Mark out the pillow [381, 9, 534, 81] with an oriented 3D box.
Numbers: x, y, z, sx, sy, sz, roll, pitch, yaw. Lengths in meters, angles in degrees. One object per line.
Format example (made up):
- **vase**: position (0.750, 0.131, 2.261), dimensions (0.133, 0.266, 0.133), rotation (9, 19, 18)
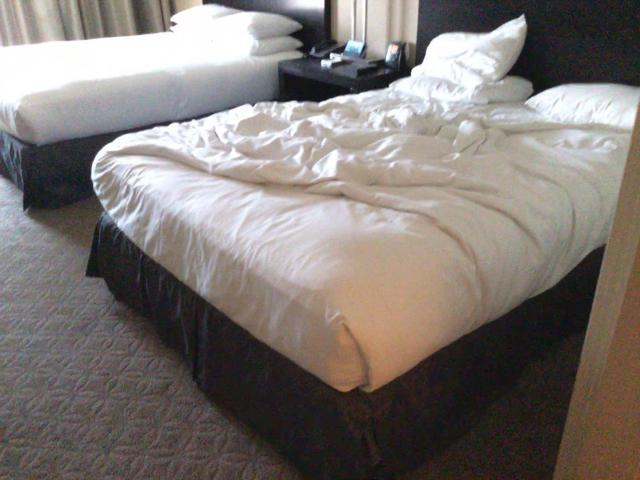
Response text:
- **pillow**: position (0.670, -1.000, 2.910), dimensions (0.380, 0.250, 0.630), rotation (-21, 33, -35)
